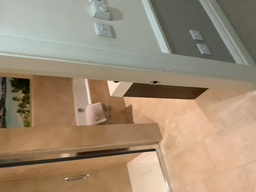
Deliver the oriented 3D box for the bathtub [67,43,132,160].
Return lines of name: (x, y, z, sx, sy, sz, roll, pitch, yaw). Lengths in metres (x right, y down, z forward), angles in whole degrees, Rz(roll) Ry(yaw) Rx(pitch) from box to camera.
bathtub: (-0.540, 0.060, 3.420, 0.740, 0.550, 1.660, -50, 46, 48)

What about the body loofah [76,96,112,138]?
body loofah: (-0.480, 0.290, 2.900, 0.460, 0.310, 0.400, -50, 47, 48)
